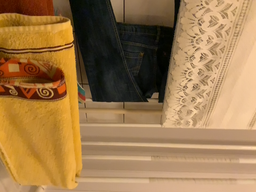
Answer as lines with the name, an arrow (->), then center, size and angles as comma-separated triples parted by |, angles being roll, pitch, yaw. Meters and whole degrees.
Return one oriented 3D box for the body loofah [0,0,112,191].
body loofah -> -0.240, -0.010, 0.540 | 0.350, 0.690, 0.250 | 4, -144, 3
